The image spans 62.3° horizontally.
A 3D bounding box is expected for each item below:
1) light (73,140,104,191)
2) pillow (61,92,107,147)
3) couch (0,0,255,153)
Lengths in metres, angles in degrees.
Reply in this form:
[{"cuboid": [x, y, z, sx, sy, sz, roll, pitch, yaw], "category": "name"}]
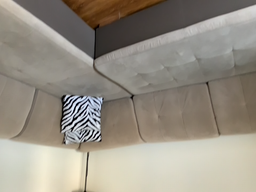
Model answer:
[{"cuboid": [-0.480, 0.990, 2.620, 0.270, 0.830, 0.310, -3, 159, 7], "category": "light"}, {"cuboid": [-0.460, 0.230, 2.170, 0.360, 0.470, 0.190, -8, 149, -19], "category": "pillow"}, {"cuboid": [0.270, -0.100, 1.850, 2.620, 0.920, 1.080, -12, 156, 28], "category": "couch"}]
